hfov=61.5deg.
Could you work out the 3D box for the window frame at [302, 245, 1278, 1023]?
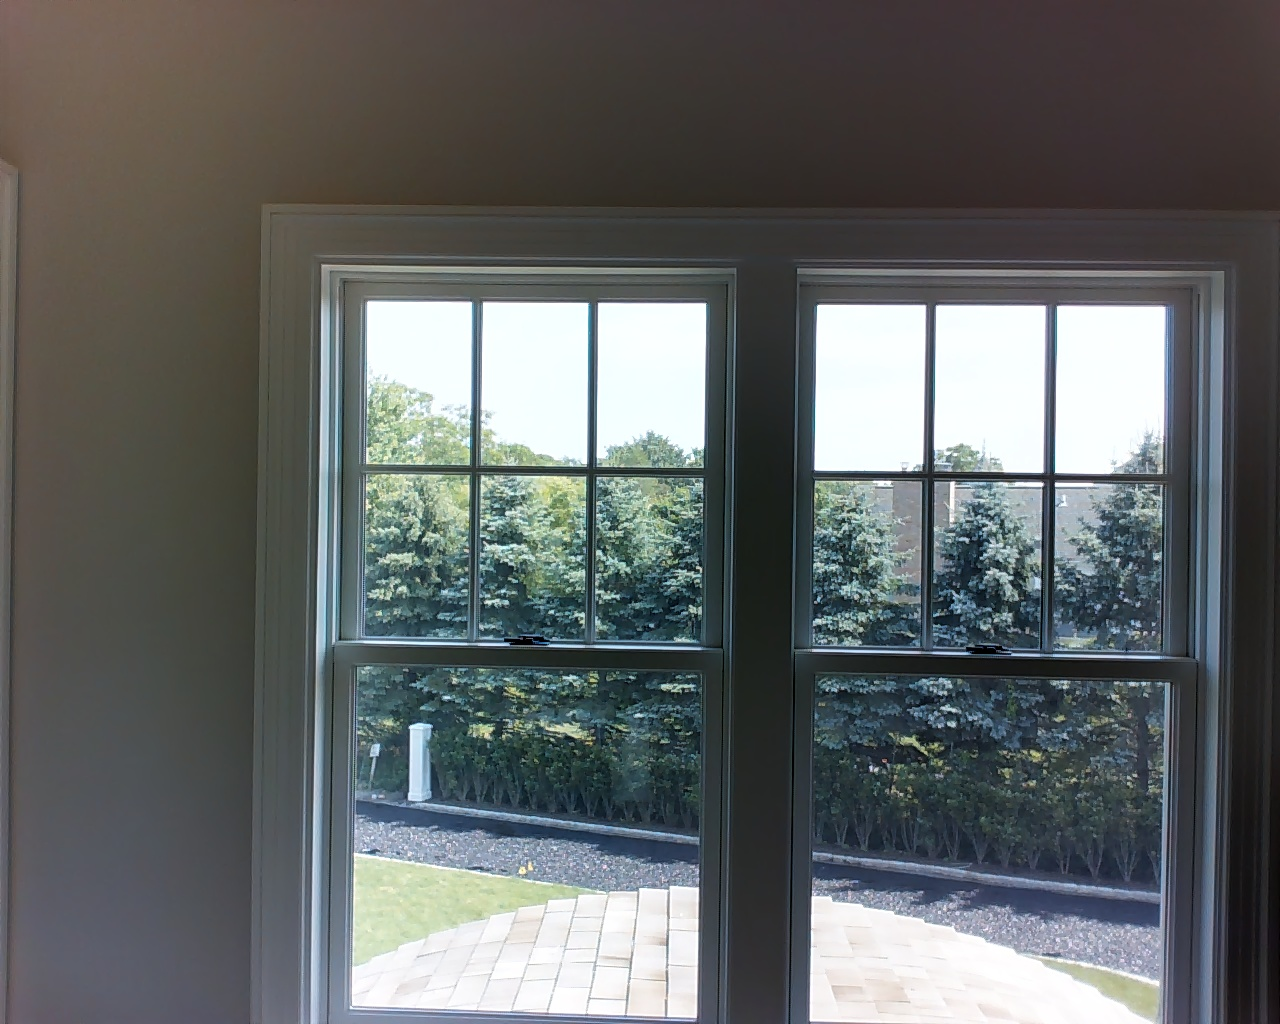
[{"bbox_3d":[0.290,0.370,2.330,1.920,1.790,0.340,1,0,2],"label":"window frame"}]
